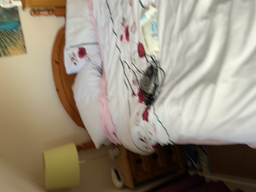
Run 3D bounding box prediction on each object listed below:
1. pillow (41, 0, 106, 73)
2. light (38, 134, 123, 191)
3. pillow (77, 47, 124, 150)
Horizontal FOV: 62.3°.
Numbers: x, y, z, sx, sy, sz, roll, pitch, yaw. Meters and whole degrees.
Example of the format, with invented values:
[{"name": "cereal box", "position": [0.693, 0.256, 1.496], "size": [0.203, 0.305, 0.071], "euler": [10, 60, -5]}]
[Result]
[{"name": "pillow", "position": [-0.480, -0.610, 1.920], "size": [0.530, 0.210, 0.750], "euler": [-28, -81, -80]}, {"name": "light", "position": [-0.430, 0.580, 1.840], "size": [0.450, 0.590, 0.330], "euler": [145, 113, -65]}, {"name": "pillow", "position": [-0.220, 0.060, 1.780], "size": [0.610, 0.230, 0.710], "euler": [109, 152, -78]}]
